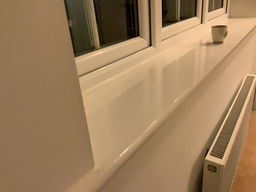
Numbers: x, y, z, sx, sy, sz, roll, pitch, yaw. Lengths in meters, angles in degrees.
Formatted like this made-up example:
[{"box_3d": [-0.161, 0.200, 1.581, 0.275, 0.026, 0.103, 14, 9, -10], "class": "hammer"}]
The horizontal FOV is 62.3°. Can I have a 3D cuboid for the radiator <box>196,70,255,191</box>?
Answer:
[{"box_3d": [0.570, 0.240, 1.160, 0.080, 0.490, 0.970, 12, 30, 33], "class": "radiator"}]

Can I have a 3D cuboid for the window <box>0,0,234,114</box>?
[{"box_3d": [0.220, -0.600, 0.950, 0.170, 0.690, 1.620, 13, 30, 35], "class": "window"}]
